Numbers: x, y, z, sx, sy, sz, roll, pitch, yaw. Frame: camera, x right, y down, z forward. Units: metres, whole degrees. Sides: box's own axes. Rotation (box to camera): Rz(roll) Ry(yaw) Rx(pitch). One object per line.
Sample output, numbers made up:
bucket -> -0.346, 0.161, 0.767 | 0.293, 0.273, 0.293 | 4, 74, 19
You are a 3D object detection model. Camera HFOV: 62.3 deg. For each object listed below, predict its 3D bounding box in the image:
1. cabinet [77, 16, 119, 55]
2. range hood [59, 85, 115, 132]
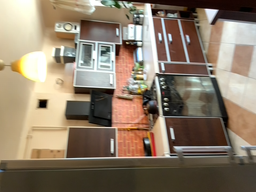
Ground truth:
cabinet -> -0.530, -1.090, 3.840 | 0.350, 0.710, 0.560 | 104, 165, -59
range hood -> -0.550, 0.180, 2.990 | 0.260, 0.720, 0.590 | 103, 166, -57
